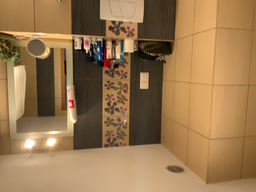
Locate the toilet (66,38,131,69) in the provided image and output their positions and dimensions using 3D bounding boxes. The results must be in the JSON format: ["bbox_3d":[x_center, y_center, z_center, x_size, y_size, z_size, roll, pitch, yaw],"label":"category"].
[{"bbox_3d":[-0.240,-0.340,1.740,0.500,0.220,0.160,0,-173,-13],"label":"toilet"}]
